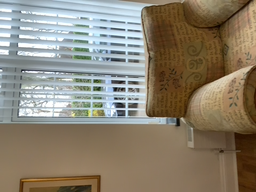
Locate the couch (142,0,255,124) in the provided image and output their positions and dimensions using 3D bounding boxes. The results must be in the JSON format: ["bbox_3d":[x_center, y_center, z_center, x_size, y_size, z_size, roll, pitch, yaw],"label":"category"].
[{"bbox_3d":[0.660,-0.350,1.410,1.010,0.880,1.040,146,125,-75],"label":"couch"}]

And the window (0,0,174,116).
[{"bbox_3d":[-0.490,-0.360,1.970,0.190,1.840,1.070,146,125,-75],"label":"window"}]
